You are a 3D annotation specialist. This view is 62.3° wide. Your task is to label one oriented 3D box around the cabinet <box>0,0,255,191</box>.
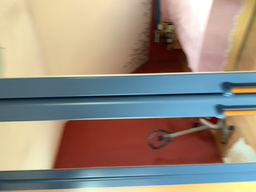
[{"bbox_3d":[0.320,0.160,1.160,0.650,2.230,1.990,-95,4,-51],"label":"cabinet"}]
